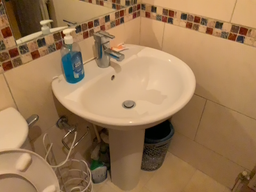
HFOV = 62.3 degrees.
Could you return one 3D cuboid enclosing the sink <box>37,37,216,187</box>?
[{"bbox_3d":[0.020,-0.010,0.920,0.470,0.200,0.570,26,45,28],"label":"sink"}]
